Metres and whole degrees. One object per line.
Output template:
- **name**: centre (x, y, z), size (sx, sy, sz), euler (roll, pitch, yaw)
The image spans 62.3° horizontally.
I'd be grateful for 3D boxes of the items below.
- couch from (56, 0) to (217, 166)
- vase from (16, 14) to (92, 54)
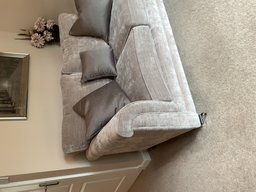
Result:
- **couch**: centre (-0.140, -0.360, 2.040), size (1.070, 0.900, 1.740), euler (133, 132, -56)
- **vase**: centre (-1.110, -0.920, 3.220), size (0.340, 1.010, 0.340), euler (-112, 33, -41)
